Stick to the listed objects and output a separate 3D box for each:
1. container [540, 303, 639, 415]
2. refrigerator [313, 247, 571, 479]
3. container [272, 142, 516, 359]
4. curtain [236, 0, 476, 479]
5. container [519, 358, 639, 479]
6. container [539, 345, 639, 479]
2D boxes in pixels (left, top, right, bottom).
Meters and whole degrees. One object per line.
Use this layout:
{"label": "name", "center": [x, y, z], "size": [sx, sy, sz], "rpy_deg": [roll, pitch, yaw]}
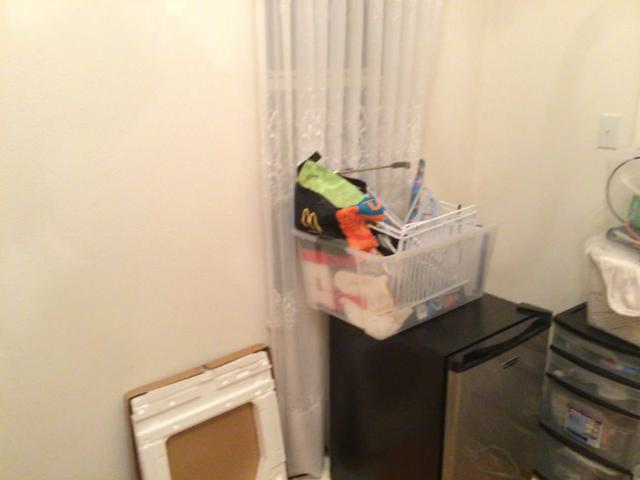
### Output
{"label": "container", "center": [0.870, 0.350, 1.750], "size": [0.180, 0.200, 0.320], "rpy_deg": [-12, 19, -39]}
{"label": "refrigerator", "center": [0.360, 0.480, 1.770], "size": [0.590, 0.750, 0.470], "rpy_deg": [-12, 19, -39]}
{"label": "container", "center": [0.220, -0.020, 1.720], "size": [0.570, 0.480, 0.420], "rpy_deg": [-12, 19, -39]}
{"label": "curtain", "center": [0.150, 0.020, 1.940], "size": [0.800, 1.550, 0.220], "rpy_deg": [-12, 19, -39]}
{"label": "container", "center": [0.900, 0.640, 1.860], "size": [0.220, 0.350, 0.410], "rpy_deg": [-12, 19, -39]}
{"label": "container", "center": [0.840, 0.510, 1.740], "size": [0.070, 0.290, 0.320], "rpy_deg": [-12, 19, -39]}
